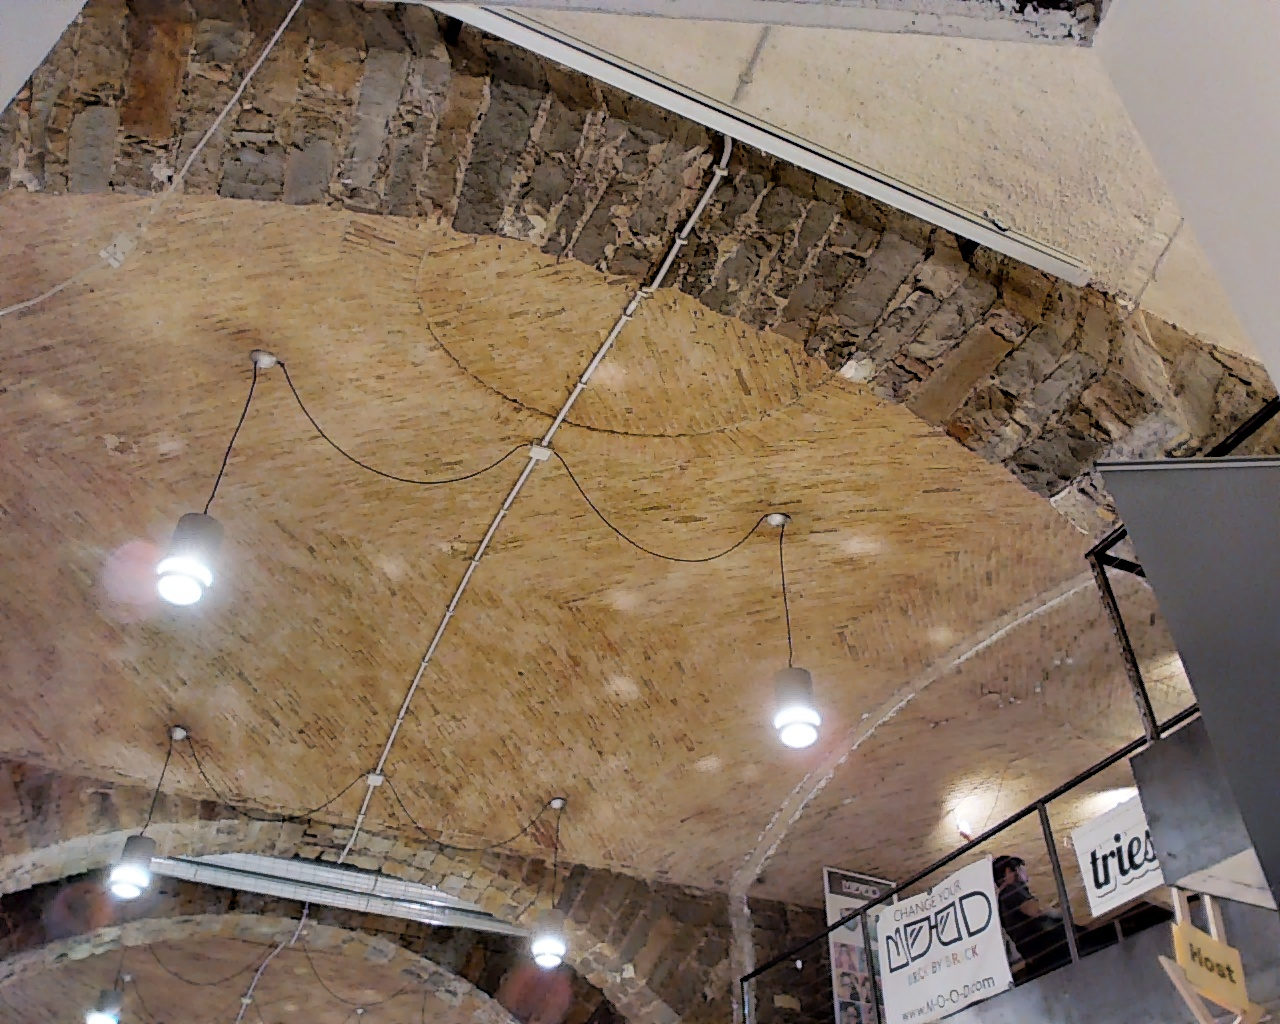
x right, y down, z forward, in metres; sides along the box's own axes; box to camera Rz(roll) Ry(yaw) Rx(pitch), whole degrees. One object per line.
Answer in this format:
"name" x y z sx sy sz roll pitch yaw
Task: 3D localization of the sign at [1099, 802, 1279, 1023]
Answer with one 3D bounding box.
"sign" 2.279 1.611 3.900 1.160 0.890 0.130 17 -43 -18
